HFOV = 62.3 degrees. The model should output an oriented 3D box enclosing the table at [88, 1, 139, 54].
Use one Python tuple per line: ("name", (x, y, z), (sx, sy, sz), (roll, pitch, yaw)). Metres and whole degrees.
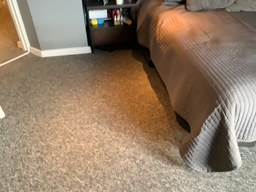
("table", (-0.180, -0.860, 2.650), (0.550, 0.500, 0.390), (-7, 40, -9))
